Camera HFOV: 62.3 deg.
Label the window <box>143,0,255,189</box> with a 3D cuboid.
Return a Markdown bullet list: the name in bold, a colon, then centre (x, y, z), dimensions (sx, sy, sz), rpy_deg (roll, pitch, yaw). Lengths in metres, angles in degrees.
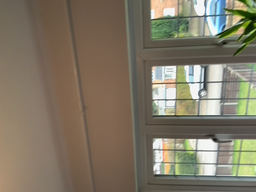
- **window**: centre (0.590, -0.030, 1.360), dimensions (0.110, 0.950, 1.510), rpy_deg (-76, -17, -67)

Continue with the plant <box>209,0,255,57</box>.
- **plant**: centre (0.670, -0.380, 1.040), dimensions (0.200, 0.450, 0.330), rpy_deg (-70, -22, -71)
